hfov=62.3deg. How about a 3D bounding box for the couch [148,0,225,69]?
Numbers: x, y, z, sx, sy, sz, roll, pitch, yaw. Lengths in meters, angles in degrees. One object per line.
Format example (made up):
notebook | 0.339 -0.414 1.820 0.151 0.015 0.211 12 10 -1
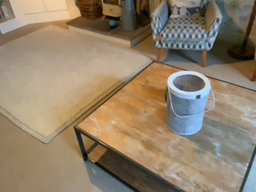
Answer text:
couch | 0.700 -0.980 2.640 0.720 0.830 0.970 7 41 13
